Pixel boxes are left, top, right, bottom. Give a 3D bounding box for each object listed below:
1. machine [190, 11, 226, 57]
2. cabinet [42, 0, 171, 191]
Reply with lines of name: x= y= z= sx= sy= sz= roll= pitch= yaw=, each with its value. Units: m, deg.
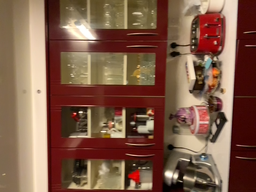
machine: x=0.610 y=-0.470 z=1.650 sx=0.220 sy=0.180 sz=0.300 roll=-83 pitch=-6 yaw=-84
cabinet: x=-0.160 y=-0.020 z=1.720 sx=0.410 sy=0.890 sz=1.620 roll=-81 pitch=-8 yaw=-85
